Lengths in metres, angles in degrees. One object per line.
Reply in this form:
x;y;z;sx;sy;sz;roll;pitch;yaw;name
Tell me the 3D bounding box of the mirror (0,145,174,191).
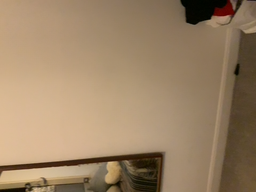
-0.400;0.680;1.590;0.050;1.600;0.530;-149;61;-68;mirror
